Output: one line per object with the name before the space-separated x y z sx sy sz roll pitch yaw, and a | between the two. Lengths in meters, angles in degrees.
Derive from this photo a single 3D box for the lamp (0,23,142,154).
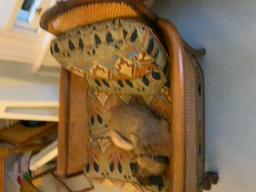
lamp | -0.660 -0.010 1.150 0.630 1.620 0.350 -51 62 26

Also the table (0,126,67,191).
table | -1.090 0.890 2.000 0.640 0.740 1.060 2 91 37
